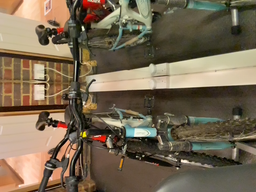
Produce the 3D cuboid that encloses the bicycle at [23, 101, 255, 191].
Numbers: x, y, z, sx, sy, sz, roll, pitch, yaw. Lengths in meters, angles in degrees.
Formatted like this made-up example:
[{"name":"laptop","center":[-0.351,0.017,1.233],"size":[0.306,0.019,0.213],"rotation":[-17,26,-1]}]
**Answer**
[{"name":"bicycle","center":[-0.100,0.270,1.500],"size":[1.750,0.740,0.420],"rotation":[0,91,49]}]
